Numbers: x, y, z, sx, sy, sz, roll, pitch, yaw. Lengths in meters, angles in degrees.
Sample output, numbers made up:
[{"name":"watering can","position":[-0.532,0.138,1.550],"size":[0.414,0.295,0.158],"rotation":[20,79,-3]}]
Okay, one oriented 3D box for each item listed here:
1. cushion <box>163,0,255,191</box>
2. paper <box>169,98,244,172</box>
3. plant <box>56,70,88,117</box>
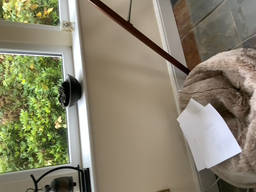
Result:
[{"name":"cushion","position":[0.590,0.100,1.110],"size":[0.730,0.260,0.830],"rotation":[-43,53,56]},{"name":"paper","position":[0.430,0.240,1.240],"size":[0.350,0.110,0.350],"rotation":[-42,54,56]},{"name":"plant","position":[-0.370,-0.010,1.370],"size":[0.250,0.130,0.220],"rotation":[-42,54,56]}]
